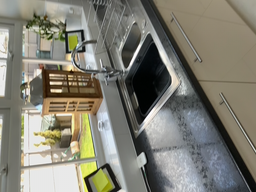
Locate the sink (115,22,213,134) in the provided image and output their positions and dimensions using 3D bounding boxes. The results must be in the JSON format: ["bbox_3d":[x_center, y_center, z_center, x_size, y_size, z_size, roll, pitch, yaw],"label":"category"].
[{"bbox_3d":[0.150,-0.080,1.200,0.480,0.230,0.390,120,141,-47],"label":"sink"}]

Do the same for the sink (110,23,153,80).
[{"bbox_3d":[0.010,-0.280,1.390,0.290,0.140,0.210,120,141,-47],"label":"sink"}]
